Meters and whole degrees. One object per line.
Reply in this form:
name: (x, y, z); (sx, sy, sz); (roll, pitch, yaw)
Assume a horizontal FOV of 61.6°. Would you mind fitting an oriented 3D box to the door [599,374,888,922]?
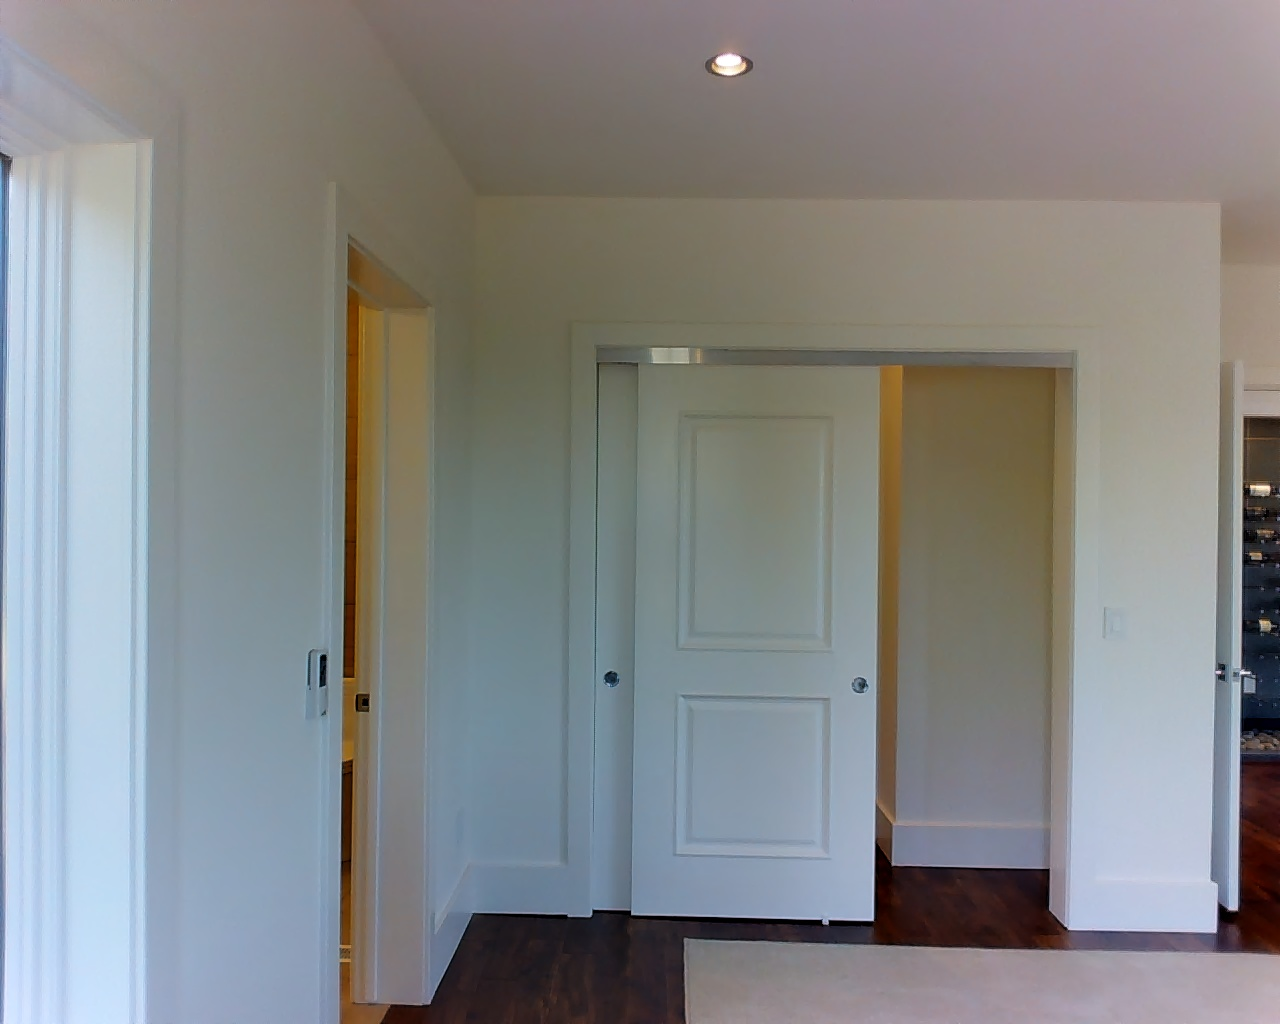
door: (0.390, 0.510, 4.090); (1.070, 2.060, 0.050); (1, 0, 2)
